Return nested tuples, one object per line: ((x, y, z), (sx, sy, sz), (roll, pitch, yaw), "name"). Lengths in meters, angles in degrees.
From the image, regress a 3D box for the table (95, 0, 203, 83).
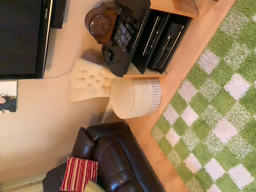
((0.120, -0.590, 1.870), (0.520, 0.480, 0.790), (58, 138, 34), "table")

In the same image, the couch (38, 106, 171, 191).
((-0.280, 1.120, 2.340), (1.680, 0.930, 1.030), (58, 138, 33), "couch")

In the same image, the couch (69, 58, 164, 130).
((-0.150, -0.070, 2.170), (0.640, 0.680, 0.460), (36, 123, 48), "couch")
